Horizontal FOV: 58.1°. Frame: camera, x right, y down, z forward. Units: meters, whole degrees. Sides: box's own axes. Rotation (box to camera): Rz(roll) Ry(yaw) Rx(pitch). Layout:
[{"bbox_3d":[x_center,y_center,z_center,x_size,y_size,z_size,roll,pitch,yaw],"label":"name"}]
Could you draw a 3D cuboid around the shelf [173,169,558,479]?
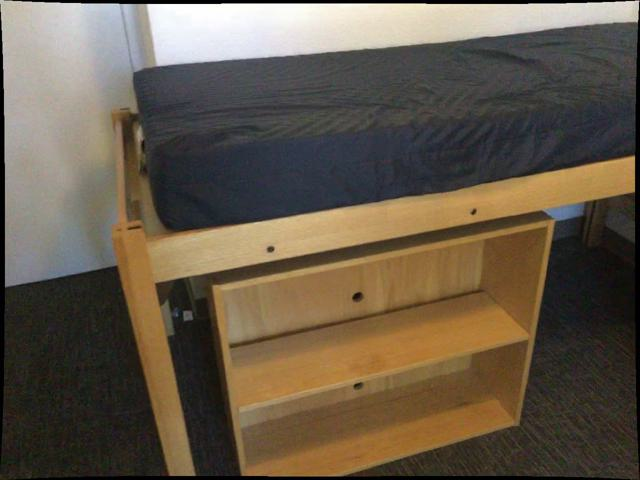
[{"bbox_3d":[0.130,0.280,1.730,0.969,0.771,0.360,-11,30,-18],"label":"shelf"}]
